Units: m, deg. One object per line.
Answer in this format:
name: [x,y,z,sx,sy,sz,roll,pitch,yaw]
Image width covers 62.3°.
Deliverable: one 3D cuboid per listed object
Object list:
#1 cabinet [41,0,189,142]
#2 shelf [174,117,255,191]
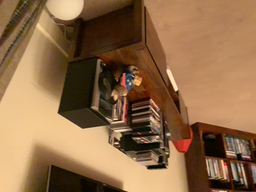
cabinet: [0.070,-0.040,1.790,0.610,0.370,1.480,-11,148,20]
shelf: [1.280,1.280,2.550,1.260,1.850,0.370,13,148,-20]
